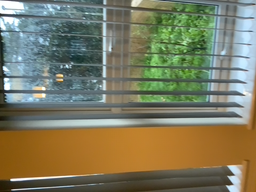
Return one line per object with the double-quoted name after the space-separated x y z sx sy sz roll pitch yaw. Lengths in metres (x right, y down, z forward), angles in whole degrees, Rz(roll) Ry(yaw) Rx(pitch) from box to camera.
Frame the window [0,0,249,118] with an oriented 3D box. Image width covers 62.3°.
-0.040 -0.320 1.390 0.060 1.750 0.930 -137 49 -75 "window"
